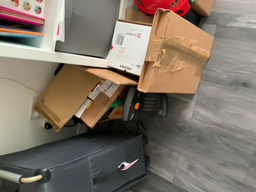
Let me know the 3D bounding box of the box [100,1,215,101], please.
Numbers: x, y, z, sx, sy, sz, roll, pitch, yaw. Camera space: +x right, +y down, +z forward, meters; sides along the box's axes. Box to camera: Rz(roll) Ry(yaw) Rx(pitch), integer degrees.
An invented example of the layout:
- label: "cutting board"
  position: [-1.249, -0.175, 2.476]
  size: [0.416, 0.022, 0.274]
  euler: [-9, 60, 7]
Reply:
- label: "box"
  position: [0.170, -0.200, 1.060]
  size: [0.300, 0.480, 0.340]
  euler: [24, 105, 31]

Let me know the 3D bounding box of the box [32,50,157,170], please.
- label: "box"
  position: [-0.210, 0.040, 1.330]
  size: [0.530, 0.450, 0.510]
  euler: [19, 102, 33]
